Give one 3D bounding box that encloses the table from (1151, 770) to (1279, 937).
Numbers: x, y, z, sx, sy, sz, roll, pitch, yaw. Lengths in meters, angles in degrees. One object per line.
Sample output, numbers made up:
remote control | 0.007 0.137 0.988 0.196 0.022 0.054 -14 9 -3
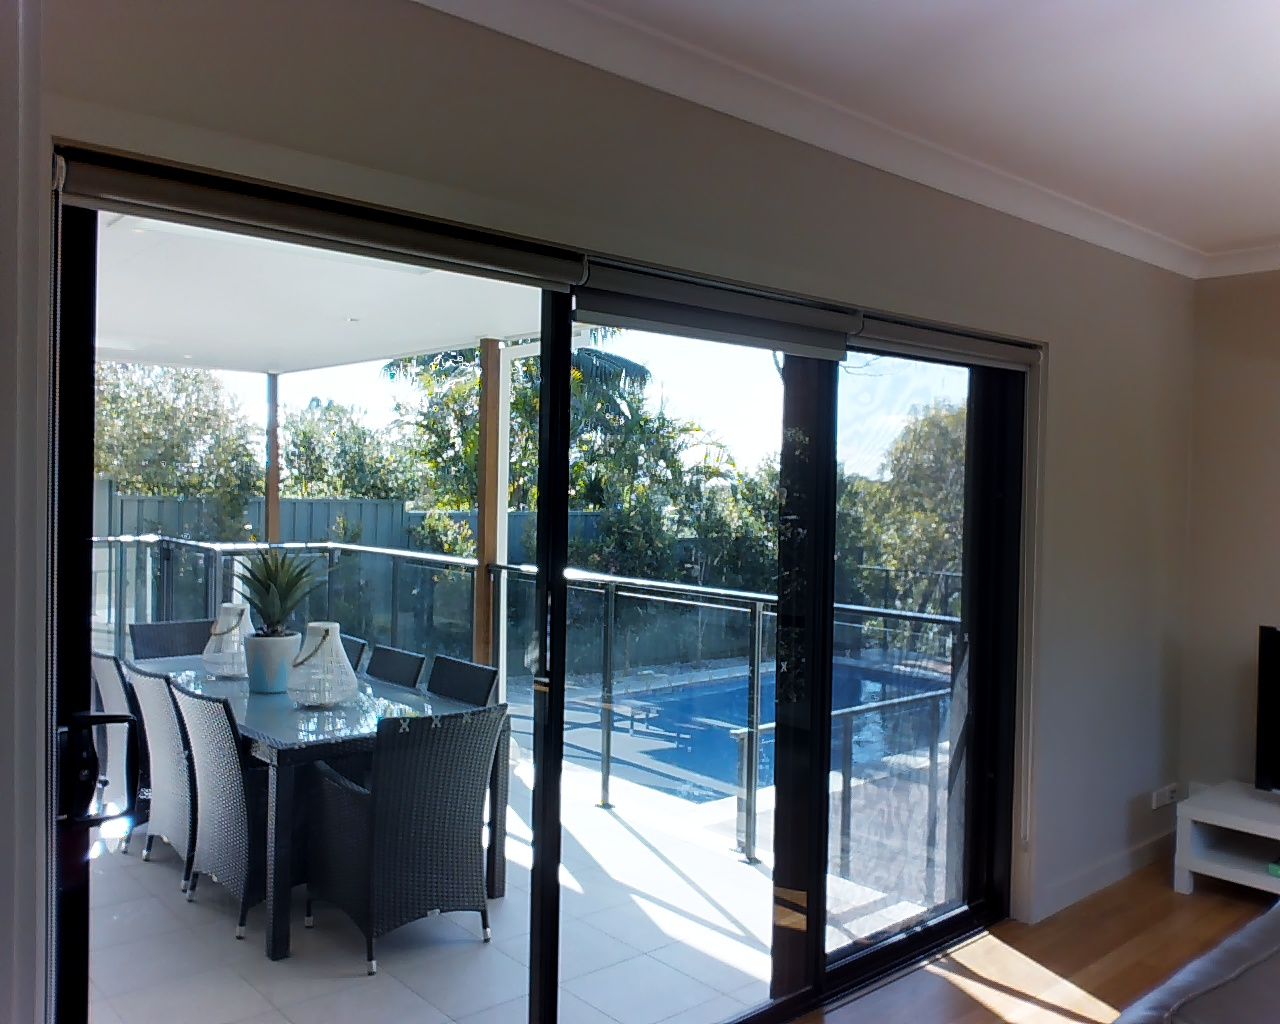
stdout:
table | 2.779 1.340 3.800 0.620 0.410 1.610 0 2 -41
